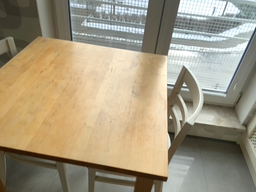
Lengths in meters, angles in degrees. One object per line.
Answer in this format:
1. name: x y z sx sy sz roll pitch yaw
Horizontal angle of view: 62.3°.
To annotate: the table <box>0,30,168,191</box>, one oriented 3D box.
1. table: -0.260 0.200 1.150 0.760 0.740 0.780 8 39 1
